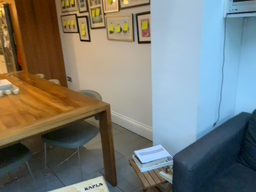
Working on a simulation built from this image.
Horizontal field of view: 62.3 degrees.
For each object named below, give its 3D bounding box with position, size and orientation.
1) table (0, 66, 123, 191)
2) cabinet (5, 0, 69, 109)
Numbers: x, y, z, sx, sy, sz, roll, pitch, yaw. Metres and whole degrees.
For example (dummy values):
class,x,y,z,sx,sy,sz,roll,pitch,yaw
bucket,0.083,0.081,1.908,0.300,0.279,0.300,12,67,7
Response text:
class,x,y,z,sx,sy,sz,roll,pitch,yaw
table,-1.210,0.270,2.320,1.030,0.770,2.410,-16,23,-35
cabinet,-1.580,-0.910,3.730,0.670,2.160,0.410,-16,23,-34
